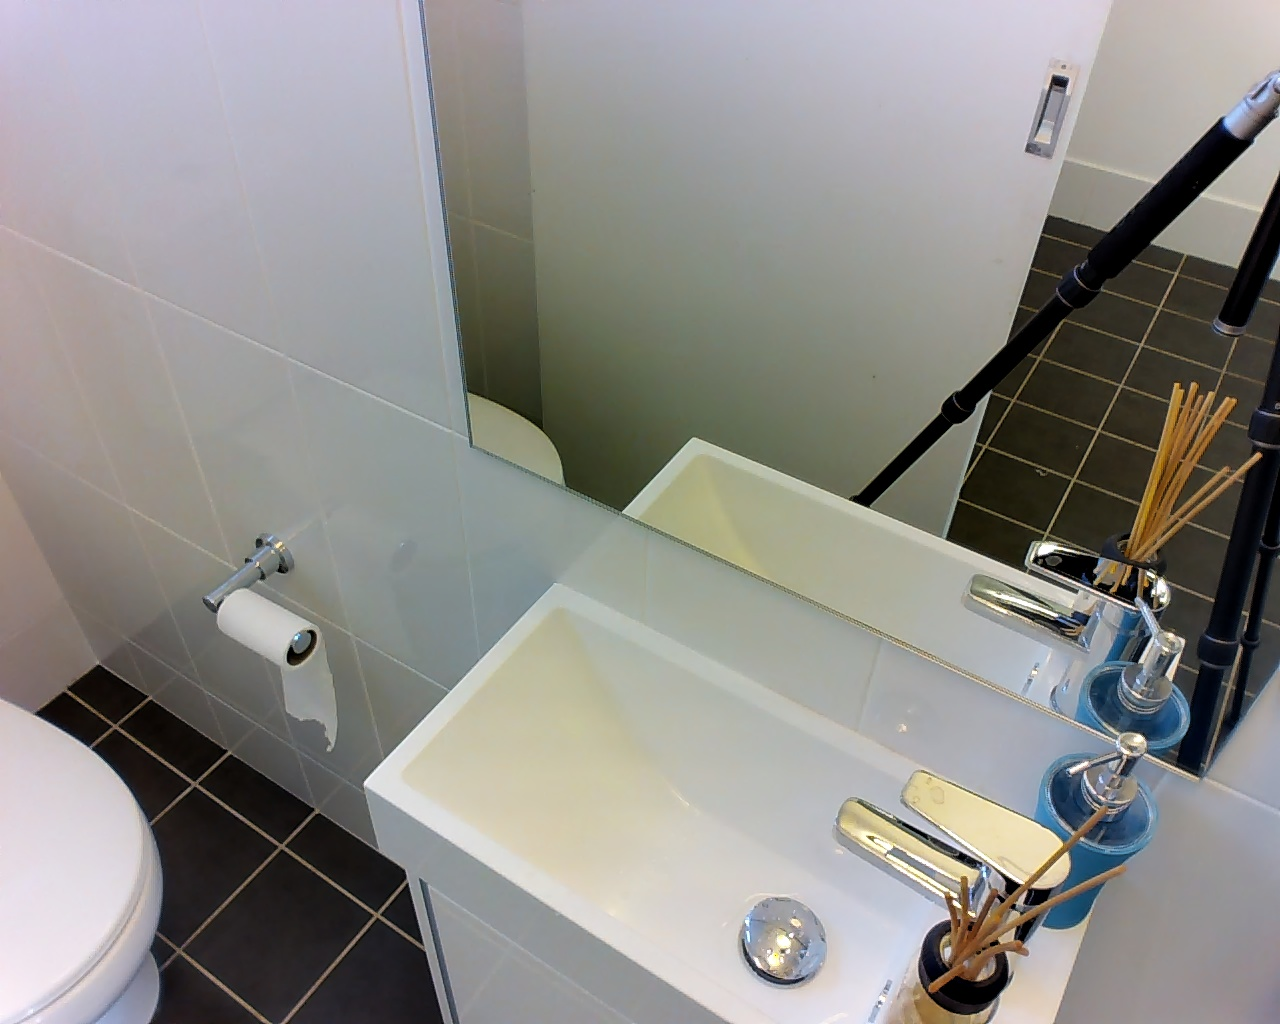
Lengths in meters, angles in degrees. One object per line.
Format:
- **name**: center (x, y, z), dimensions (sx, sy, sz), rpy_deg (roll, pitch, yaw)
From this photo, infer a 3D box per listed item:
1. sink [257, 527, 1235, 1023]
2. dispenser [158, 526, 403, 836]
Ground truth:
- **sink**: center (0.050, 0.540, 1.060), dimensions (0.630, 0.900, 0.280), rpy_deg (24, 47, 21)
- **dispenser**: center (-0.420, 0.210, 1.290), dimensions (0.190, 0.340, 0.120), rpy_deg (24, 47, 21)
